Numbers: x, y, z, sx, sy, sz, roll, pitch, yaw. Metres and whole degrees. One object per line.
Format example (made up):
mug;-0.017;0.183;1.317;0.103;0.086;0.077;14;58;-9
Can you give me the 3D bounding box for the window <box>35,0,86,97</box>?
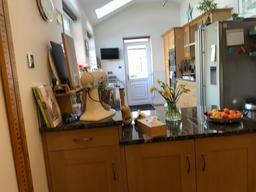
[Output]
window;-0.940;-0.770;3.270;0.210;1.330;1.710;-4;8;-2
